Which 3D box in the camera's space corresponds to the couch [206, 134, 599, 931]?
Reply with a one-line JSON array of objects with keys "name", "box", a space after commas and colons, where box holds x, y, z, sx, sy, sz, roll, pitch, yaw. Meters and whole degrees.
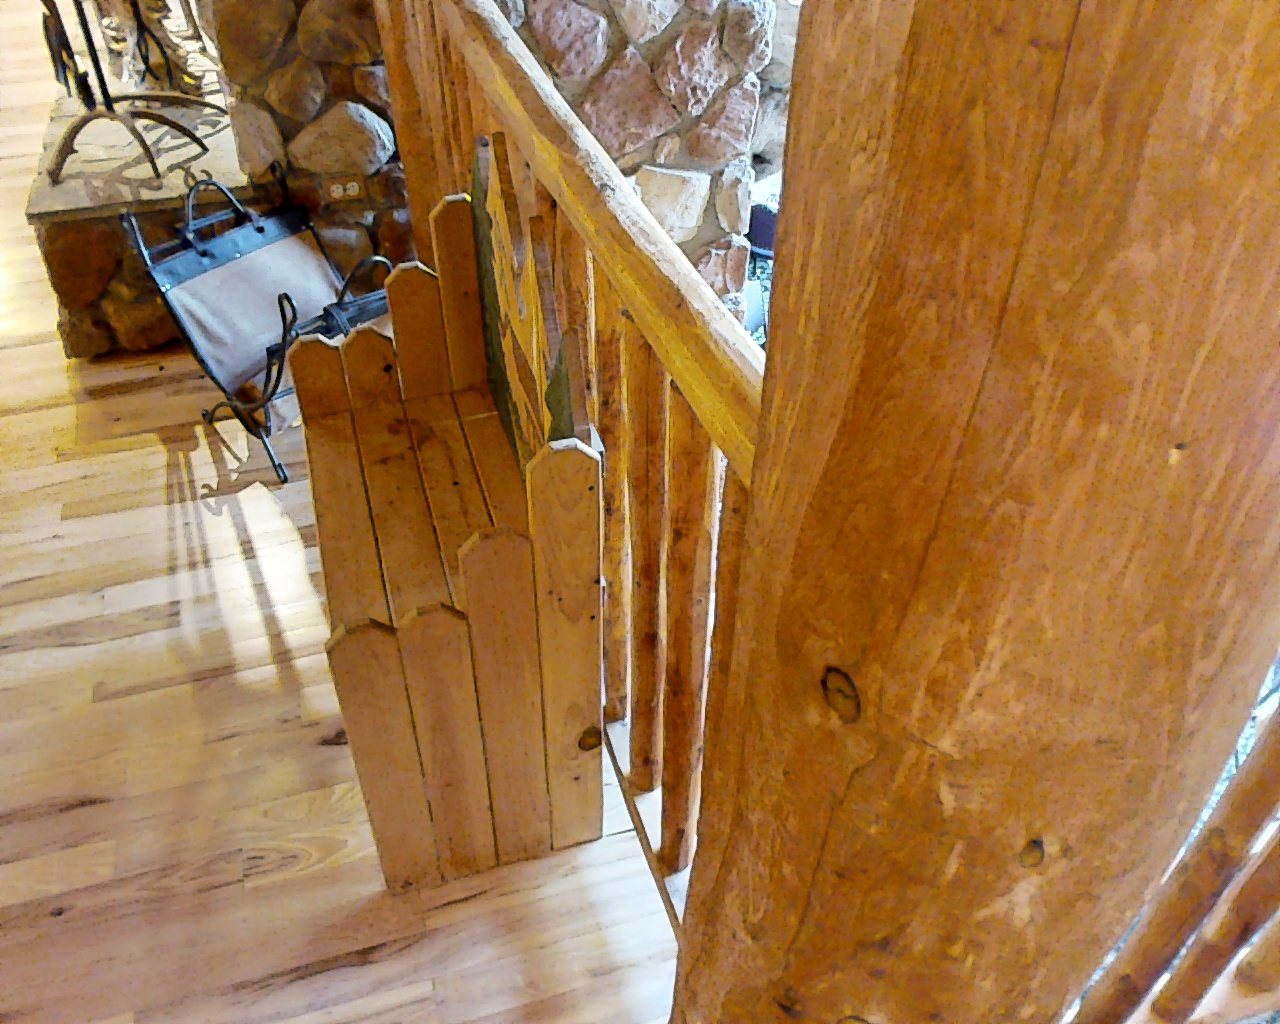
[{"name": "couch", "box": [-0.360, 0.010, 1.650, 0.370, 0.830, 0.830, -11, 43, -13]}]
